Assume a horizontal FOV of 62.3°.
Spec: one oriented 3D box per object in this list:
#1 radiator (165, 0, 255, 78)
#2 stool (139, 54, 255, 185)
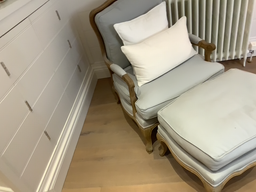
[{"bbox_3d":[0.790,-0.550,2.160,0.760,0.700,0.130,-5,38,12],"label":"radiator"},{"bbox_3d":[0.580,0.130,1.490,0.830,0.460,0.450,-23,38,-12],"label":"stool"}]
